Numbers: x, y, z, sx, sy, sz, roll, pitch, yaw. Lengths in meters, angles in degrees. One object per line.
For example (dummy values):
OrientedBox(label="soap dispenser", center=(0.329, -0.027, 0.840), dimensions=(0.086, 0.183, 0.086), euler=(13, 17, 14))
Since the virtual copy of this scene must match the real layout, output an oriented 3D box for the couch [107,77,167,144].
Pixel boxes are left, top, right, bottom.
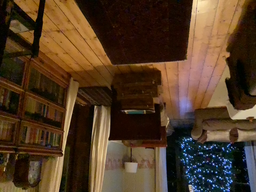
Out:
OrientedBox(label="couch", center=(0.270, 0.390, 4.050), dimensions=(0.880, 0.930, 1.660), euler=(-2, 164, 10))
